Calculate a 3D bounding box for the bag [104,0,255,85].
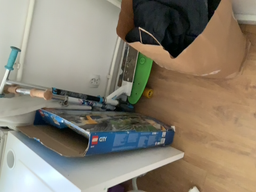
[{"bbox_3d":[0.260,-0.260,1.000,0.520,0.470,0.260,19,98,37],"label":"bag"}]
